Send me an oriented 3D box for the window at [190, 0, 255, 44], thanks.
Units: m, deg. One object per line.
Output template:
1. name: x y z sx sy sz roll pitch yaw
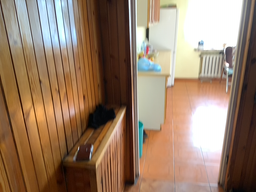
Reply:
1. window: 2.550 -2.020 4.850 2.040 1.570 0.310 2 20 9
